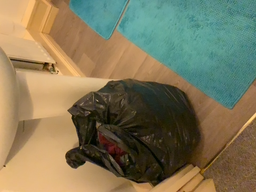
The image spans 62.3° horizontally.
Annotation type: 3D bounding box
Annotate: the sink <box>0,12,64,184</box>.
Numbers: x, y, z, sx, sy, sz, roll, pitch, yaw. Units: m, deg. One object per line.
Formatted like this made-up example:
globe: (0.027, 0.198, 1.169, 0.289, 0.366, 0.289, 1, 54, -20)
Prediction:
sink: (-0.530, -0.020, 0.800, 0.550, 0.170, 0.420, 46, 116, 27)
